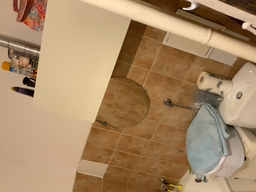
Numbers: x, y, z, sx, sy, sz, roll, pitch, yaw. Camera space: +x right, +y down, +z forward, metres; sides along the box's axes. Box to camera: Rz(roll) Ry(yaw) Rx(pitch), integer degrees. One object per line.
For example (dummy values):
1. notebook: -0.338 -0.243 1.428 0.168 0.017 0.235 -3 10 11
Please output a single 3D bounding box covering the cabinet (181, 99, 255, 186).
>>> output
1. cabinet: 0.870 0.370 1.550 0.360 0.800 0.360 -94 23 -59
